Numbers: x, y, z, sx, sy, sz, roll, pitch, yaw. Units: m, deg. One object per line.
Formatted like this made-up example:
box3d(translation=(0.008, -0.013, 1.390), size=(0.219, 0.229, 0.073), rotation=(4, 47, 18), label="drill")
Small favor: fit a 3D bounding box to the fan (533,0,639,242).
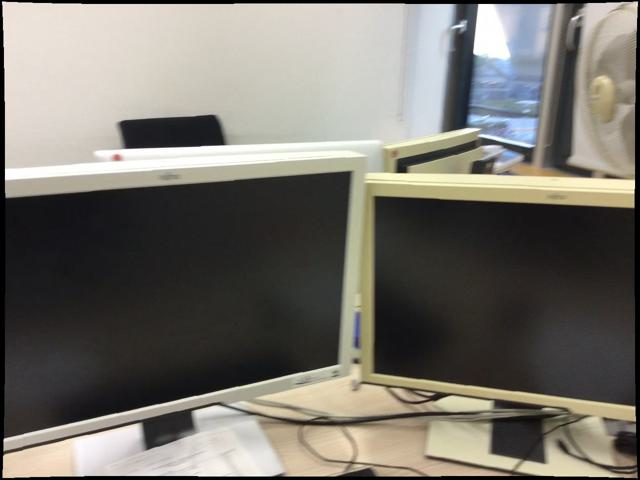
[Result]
box3d(translation=(0.869, -0.340, 1.570), size=(0.350, 0.571, 0.410), rotation=(-3, 19, -6), label="fan")
